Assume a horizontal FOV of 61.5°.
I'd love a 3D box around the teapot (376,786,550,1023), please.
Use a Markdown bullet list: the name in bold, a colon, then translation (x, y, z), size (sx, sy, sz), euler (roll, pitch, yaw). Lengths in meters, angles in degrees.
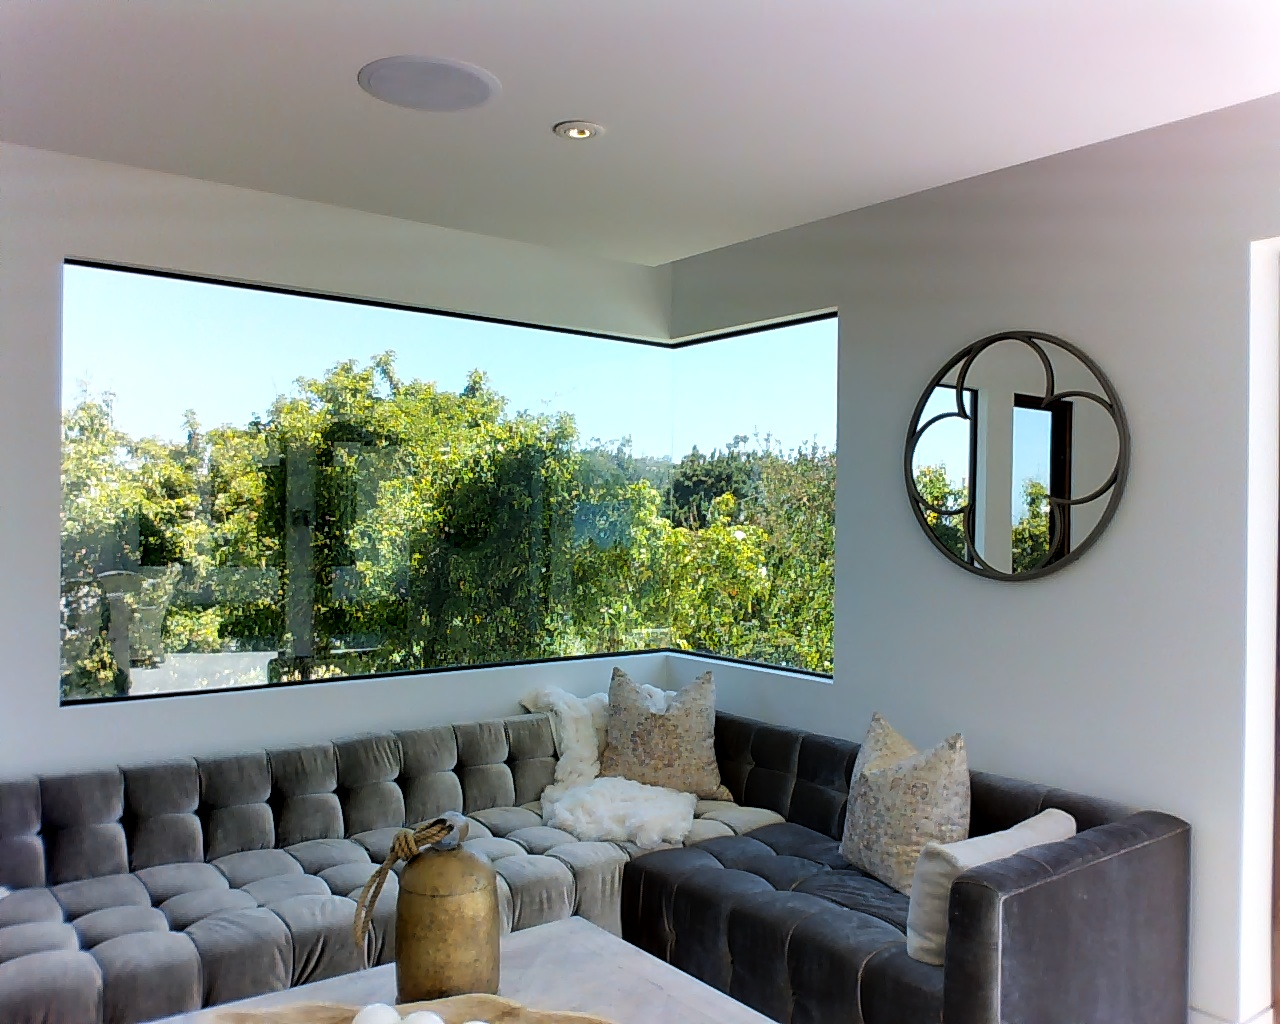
- **teapot**: translation (-0.400, 0.880, 2.420), size (0.290, 0.430, 0.270), euler (1, 0, -36)
